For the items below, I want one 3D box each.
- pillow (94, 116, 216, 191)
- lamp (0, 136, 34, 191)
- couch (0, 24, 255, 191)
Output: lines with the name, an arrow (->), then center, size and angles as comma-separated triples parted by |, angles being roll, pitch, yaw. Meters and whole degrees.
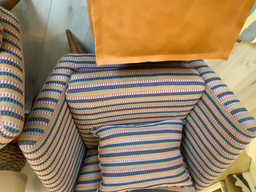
pillow -> 0.090, 0.270, 1.050 | 0.480, 0.400, 0.150 | -3, 110, -12
lamp -> -0.610, 0.430, 1.020 | 0.210, 0.350, 0.310 | 11, 137, -23
couch -> 0.010, 0.210, 1.150 | 0.870, 0.790, 0.820 | -2, 141, -9
